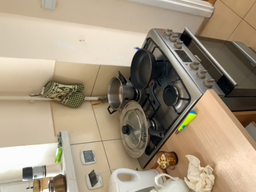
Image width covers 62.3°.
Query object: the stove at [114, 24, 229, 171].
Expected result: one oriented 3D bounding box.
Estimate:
[{"bbox_3d":[0.160,0.020,1.190,0.610,0.160,0.520,-64,37,39],"label":"stove"}]
